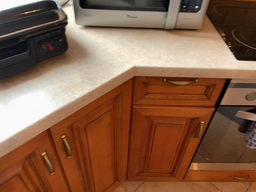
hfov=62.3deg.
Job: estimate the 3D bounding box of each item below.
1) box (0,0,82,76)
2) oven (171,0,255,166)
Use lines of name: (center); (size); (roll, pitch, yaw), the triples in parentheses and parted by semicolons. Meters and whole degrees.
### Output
box: (-0.370, -0.210, 0.620); (0.360, 0.140, 0.270); (-32, 54, -31)
oven: (0.610, -0.080, 1.040); (0.610, 0.580, 0.600); (2, 44, -2)
